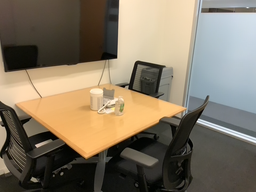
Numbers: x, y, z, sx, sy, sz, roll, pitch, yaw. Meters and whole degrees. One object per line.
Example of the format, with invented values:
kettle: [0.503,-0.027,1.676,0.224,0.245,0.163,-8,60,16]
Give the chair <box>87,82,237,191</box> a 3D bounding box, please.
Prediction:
chair: [0.240,0.530,1.630,0.730,1.030,0.760,17,25,38]

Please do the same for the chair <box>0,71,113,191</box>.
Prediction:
chair: [-0.680,0.430,1.790,0.750,1.050,0.810,-15,26,-39]

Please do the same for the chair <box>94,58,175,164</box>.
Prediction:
chair: [0.060,0.120,2.750,0.720,1.080,0.680,19,25,41]

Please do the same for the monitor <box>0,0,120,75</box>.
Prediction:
monitor: [-0.600,-0.710,2.220,0.070,0.780,1.340,20,26,41]
